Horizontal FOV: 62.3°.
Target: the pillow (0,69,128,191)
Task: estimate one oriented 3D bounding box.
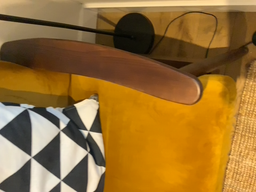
[{"bbox_3d":[-0.350,0.280,0.690,0.290,0.650,0.710,3,96,53],"label":"pillow"}]
